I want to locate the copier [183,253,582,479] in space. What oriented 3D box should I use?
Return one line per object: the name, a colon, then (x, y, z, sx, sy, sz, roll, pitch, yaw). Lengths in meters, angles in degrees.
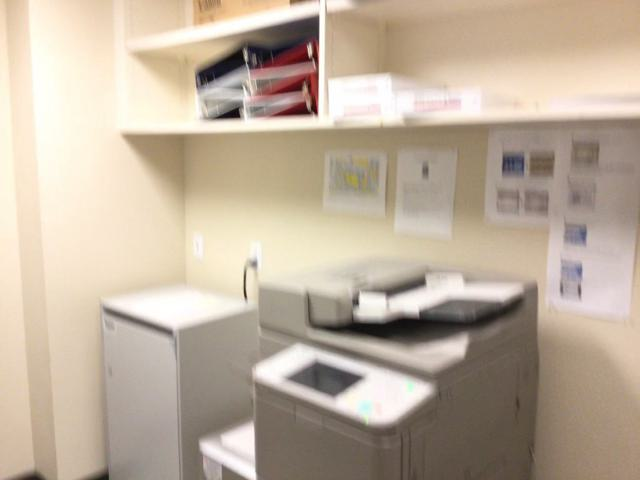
copier: (0.150, 0.690, 1.530, 0.720, 1.190, 0.720, 7, 8, 42)
